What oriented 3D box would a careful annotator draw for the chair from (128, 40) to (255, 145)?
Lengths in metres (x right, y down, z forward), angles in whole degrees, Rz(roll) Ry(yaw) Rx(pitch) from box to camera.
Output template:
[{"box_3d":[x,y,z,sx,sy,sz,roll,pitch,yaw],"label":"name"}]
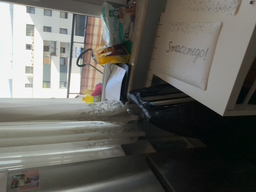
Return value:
[{"box_3d":[0.540,-0.050,1.440,0.470,0.920,0.520,-146,60,-62],"label":"chair"}]
